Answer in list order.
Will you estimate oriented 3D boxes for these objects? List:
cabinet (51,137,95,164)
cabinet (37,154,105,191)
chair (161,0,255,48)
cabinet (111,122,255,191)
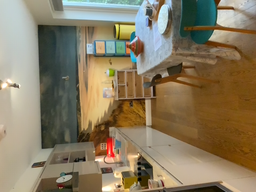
[{"bbox_3d":[-1.100,1.080,4.290,0.670,0.800,0.330,175,93,-76],"label":"cabinet"},{"bbox_3d":[-0.770,1.070,2.960,0.560,0.820,0.310,175,93,-76],"label":"cabinet"},{"bbox_3d":[0.780,-0.740,1.960,0.510,0.790,0.440,168,100,-76],"label":"chair"},{"bbox_3d":[0.450,0.890,3.340,3.250,0.890,0.610,175,93,-76],"label":"cabinet"}]
